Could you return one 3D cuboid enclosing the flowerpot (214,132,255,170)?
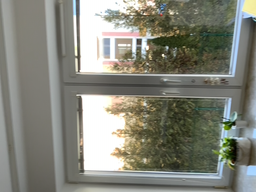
[{"bbox_3d":[0.830,0.410,1.610,0.240,0.250,0.190,-81,-7,-80],"label":"flowerpot"}]
